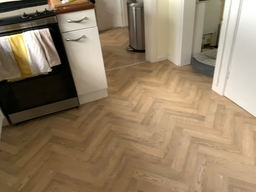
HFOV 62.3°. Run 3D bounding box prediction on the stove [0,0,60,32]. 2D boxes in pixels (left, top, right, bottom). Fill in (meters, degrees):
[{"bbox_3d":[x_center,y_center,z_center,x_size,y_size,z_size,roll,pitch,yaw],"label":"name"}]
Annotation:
[{"bbox_3d":[-0.910,-0.680,1.750,0.600,0.100,0.640,-14,35,-14],"label":"stove"}]
